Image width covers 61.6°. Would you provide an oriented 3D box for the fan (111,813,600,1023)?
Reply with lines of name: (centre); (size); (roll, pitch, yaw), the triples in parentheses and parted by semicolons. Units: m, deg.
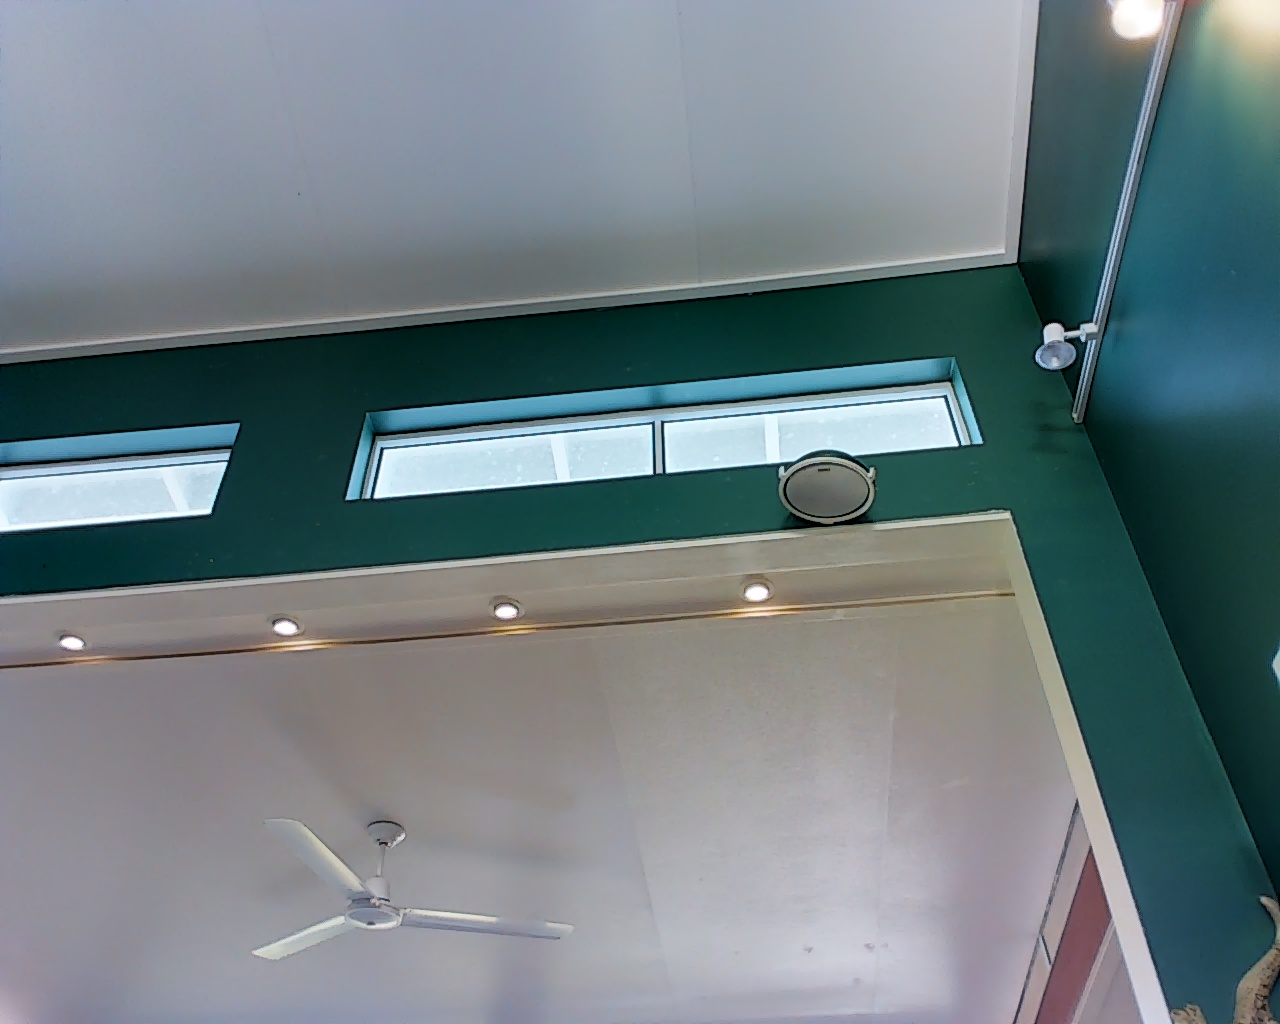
fan: (-0.889, 1.441, 3.860); (1.339, 0.220, 1.280); (-5, 2, 5)
